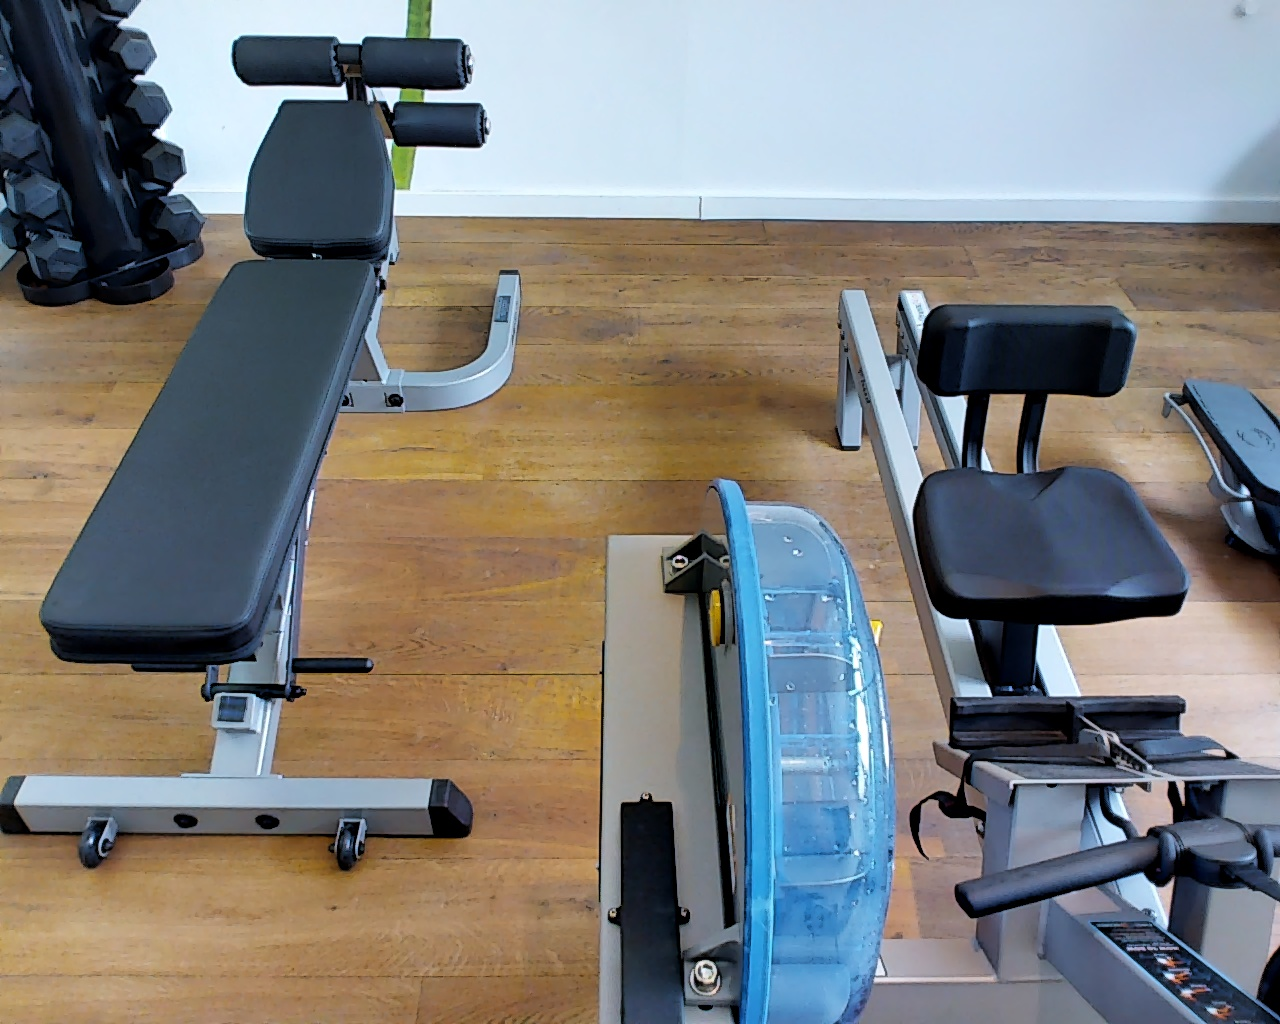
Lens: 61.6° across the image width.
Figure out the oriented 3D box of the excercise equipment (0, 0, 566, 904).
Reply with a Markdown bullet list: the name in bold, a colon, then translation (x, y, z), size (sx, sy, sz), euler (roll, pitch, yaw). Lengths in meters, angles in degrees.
- **excercise equipment**: translation (-0.600, -0.330, 1.960), size (0.820, 0.760, 1.820), euler (0, 41, -1)

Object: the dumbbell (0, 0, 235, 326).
- **dumbbell**: translation (-1.390, -1.160, 2.440), size (0.410, 1.330, 0.460), euler (33, 51, 31)
